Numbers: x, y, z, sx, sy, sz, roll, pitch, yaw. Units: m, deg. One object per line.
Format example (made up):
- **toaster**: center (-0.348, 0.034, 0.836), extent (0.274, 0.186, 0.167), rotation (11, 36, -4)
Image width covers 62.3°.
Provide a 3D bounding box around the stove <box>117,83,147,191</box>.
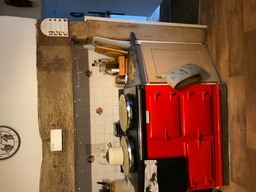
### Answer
- **stove**: center (0.020, 0.410, 2.150), extent (0.690, 0.100, 1.030), rotation (172, 96, -76)
